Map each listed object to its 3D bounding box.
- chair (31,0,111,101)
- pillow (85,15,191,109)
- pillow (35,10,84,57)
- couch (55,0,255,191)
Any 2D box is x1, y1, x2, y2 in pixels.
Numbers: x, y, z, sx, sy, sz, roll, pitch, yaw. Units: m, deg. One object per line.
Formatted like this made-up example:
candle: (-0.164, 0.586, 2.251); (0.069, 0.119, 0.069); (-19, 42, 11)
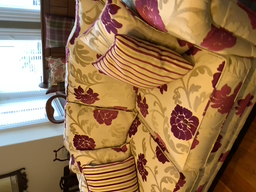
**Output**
chair: (-0.770, -0.890, 2.820); (0.510, 0.850, 1.800); (45, 133, 47)
pillow: (0.020, -0.140, 1.110); (0.140, 0.450, 0.470); (56, 168, 4)
pillow: (-0.890, -0.820, 2.790); (0.220, 0.450, 0.420); (44, 156, 46)
couch: (0.080, 0.160, 1.540); (1.100, 0.920, 1.860); (48, 135, 45)
